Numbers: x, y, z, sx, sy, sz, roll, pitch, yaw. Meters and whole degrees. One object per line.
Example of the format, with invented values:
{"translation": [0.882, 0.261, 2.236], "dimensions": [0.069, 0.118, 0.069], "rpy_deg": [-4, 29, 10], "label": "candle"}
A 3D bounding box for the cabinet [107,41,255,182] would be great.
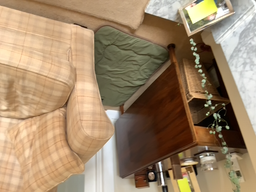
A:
{"translation": [0.300, 0.250, 1.780], "dimensions": [0.570, 0.710, 1.140], "rpy_deg": [8, 149, -23], "label": "cabinet"}
